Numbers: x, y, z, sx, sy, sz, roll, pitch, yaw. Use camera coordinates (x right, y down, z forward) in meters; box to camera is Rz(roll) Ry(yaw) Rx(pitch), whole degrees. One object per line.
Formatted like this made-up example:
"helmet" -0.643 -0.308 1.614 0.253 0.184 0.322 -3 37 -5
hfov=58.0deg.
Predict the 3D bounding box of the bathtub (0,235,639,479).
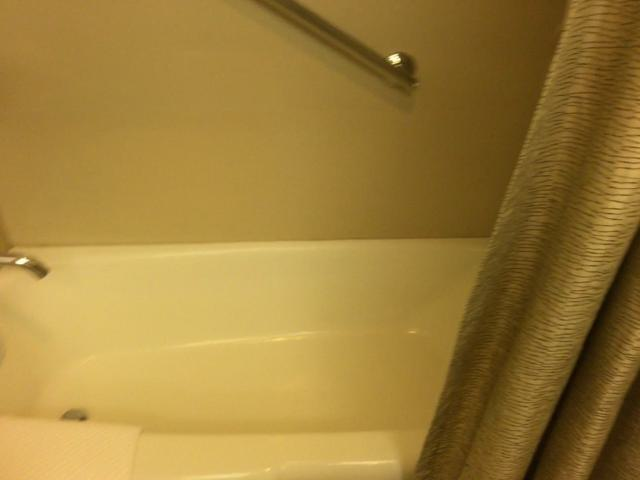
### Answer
"bathtub" -0.080 0.360 1.410 1.440 0.390 0.750 0 34 -5
